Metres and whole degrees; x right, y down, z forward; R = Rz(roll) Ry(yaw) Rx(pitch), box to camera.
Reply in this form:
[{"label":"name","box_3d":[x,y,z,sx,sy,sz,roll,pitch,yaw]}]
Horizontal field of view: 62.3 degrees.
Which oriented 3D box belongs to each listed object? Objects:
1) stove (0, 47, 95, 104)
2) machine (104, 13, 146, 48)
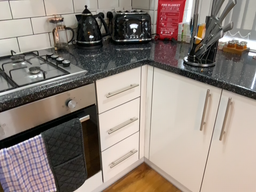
[{"label":"stove","box_3d":[-0.550,-0.130,1.050,0.520,0.020,0.590,-23,35,-37]},{"label":"machine","box_3d":[-0.020,-0.530,1.690,0.260,0.210,0.200,-21,34,-35]}]
